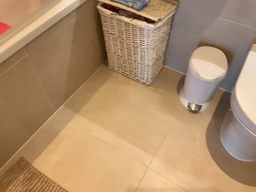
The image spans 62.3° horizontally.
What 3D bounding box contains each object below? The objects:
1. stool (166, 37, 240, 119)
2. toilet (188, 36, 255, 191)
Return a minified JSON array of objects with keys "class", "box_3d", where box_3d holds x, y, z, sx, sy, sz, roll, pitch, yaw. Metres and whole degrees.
[{"class":"stool","box_3d":[0.420,-0.100,1.240,0.260,0.320,0.250,28,57,19]},{"class":"toilet","box_3d":[0.650,0.110,1.000,0.450,0.430,0.520,30,58,21]}]
